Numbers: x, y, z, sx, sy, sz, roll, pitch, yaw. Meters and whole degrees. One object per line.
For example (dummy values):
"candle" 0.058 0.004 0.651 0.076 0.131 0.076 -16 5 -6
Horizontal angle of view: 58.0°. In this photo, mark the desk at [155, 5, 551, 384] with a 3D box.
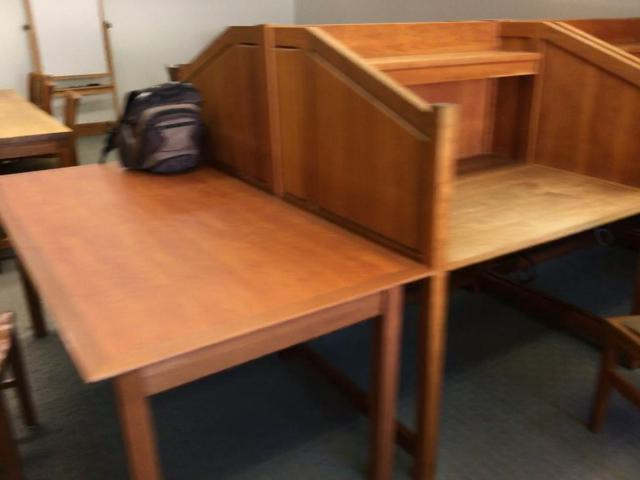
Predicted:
"desk" 0.100 -0.390 2.920 1.370 1.420 1.220 -12 24 -32

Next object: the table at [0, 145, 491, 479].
"table" -0.500 0.240 2.160 1.060 0.770 1.870 -12 24 -32

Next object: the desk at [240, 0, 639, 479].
"desk" 0.600 -0.160 2.300 1.420 1.440 1.150 -12 24 -32

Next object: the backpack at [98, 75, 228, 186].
"backpack" -0.700 -0.510 2.580 0.400 0.390 0.470 -12 24 -32

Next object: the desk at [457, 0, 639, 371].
"desk" 1.600 -0.400 2.820 1.390 1.390 0.990 -12 24 -32
